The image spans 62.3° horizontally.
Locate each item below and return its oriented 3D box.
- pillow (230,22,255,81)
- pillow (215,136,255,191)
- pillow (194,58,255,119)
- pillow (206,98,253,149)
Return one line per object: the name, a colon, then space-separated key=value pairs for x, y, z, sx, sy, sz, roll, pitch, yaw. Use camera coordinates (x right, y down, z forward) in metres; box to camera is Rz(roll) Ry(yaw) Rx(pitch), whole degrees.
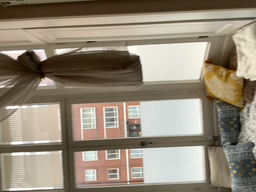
pillow: x=0.960 y=-0.340 z=1.690 sx=0.390 sy=0.110 sz=0.410 roll=-93 pitch=0 yaw=-83
pillow: x=1.040 y=0.660 z=1.970 sx=0.250 sy=0.260 sz=0.460 roll=79 pitch=-145 yaw=-66
pillow: x=0.920 y=-0.070 z=2.030 sx=0.120 sy=0.430 sz=0.380 roll=-27 pitch=-30 yaw=-37
pillow: x=1.000 y=0.270 z=2.110 sx=0.450 sy=0.220 sz=0.090 roll=-60 pitch=-18 yaw=2
